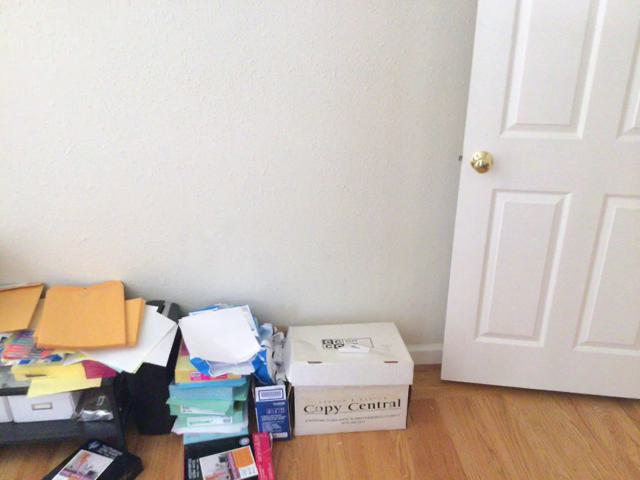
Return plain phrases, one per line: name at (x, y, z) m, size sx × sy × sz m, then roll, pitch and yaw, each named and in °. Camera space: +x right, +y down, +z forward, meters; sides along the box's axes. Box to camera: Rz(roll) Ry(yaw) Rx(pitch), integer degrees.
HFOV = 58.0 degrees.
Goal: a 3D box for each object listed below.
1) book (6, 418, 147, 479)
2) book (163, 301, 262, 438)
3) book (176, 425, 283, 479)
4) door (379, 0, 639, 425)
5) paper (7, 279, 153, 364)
book at (-0.770, 0.740, 1.830) m, size 0.260 × 0.090 × 0.350 m, roll 10°, pitch 23°, yaw 22°
book at (-0.370, 0.450, 2.070) m, size 0.310 × 0.330 × 0.340 m, roll -1°, pitch 21°, yaw -7°
book at (-0.300, 0.730, 1.880) m, size 0.310 × 0.060 × 0.250 m, roll -4°, pitch 22°, yaw -15°
door at (0.700, -0.400, 1.870) m, size 0.820 × 2.080 × 0.390 m, roll -1°, pitch 21°, yaw -7°
paper at (-0.780, 0.260, 1.940) m, size 0.360 × 0.100 × 0.380 m, roll -1°, pitch 21°, yaw -7°
